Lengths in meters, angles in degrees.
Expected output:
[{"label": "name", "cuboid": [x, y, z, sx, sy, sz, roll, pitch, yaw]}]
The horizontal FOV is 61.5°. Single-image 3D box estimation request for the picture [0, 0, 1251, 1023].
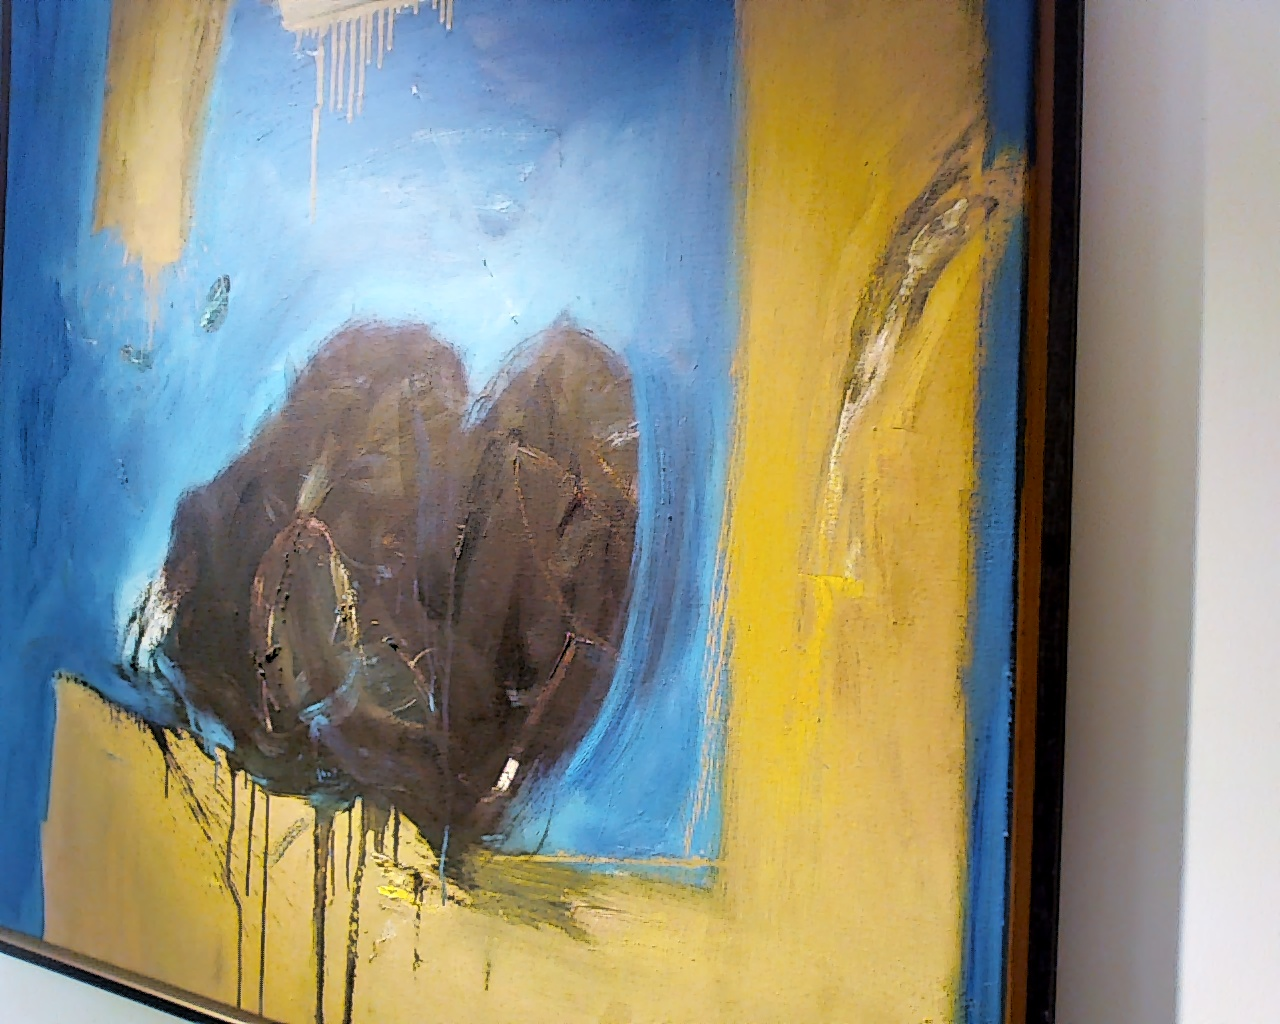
[{"label": "picture", "cuboid": [-0.180, -0.130, 0.870, 1.170, 1.220, 0.040, 0, -1, 28]}]
